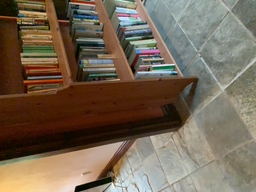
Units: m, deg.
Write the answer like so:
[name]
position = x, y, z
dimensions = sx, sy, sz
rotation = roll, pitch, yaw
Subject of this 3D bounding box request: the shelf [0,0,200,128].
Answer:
[shelf]
position = -0.570, -0.350, 1.290
dimensions = 0.360, 1.860, 0.960
rotation = -58, 45, 50
